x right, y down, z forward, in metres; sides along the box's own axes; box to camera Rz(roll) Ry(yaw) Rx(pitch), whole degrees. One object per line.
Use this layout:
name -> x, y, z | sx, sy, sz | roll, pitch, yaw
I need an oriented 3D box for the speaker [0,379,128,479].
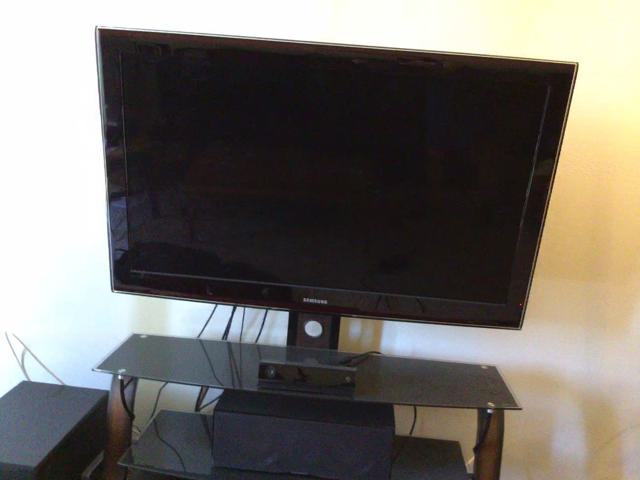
speaker -> -0.810, 0.650, 1.570 | 0.410, 0.390, 0.440 | 2, 6, 3
